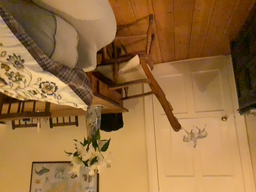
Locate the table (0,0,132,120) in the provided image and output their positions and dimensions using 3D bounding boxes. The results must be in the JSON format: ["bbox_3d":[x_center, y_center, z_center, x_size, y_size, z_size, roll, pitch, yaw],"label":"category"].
[{"bbox_3d":[-0.960,-0.230,2.160,1.790,0.750,0.930,-6,168,15],"label":"table"}]
